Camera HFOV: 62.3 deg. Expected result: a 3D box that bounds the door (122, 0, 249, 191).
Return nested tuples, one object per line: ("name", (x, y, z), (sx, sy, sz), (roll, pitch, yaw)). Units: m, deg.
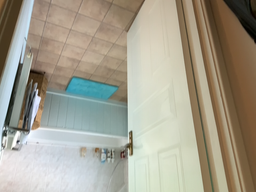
("door", (0.160, 0.270, 1.030), (0.070, 1.930, 0.830), (8, 154, -21))
